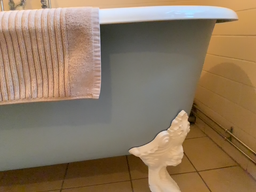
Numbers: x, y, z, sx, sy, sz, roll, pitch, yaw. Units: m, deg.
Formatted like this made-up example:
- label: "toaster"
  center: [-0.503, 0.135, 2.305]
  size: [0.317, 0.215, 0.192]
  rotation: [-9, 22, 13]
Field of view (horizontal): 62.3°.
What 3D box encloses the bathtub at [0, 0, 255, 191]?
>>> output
- label: "bathtub"
  center: [-0.460, 0.060, 0.870]
  size: [1.710, 0.670, 0.830]
  rotation: [-5, 16, -5]
